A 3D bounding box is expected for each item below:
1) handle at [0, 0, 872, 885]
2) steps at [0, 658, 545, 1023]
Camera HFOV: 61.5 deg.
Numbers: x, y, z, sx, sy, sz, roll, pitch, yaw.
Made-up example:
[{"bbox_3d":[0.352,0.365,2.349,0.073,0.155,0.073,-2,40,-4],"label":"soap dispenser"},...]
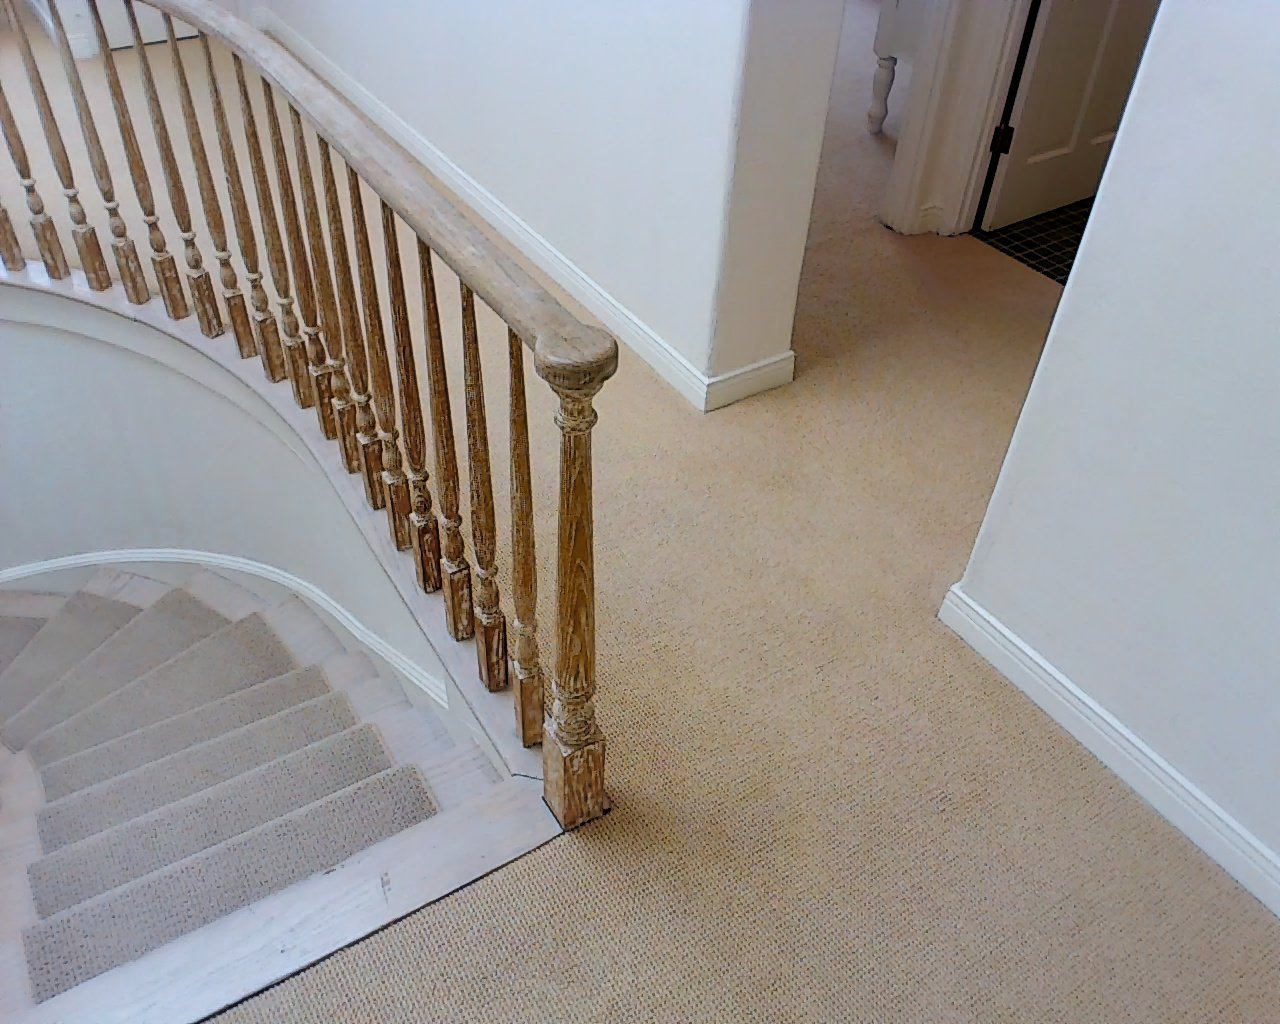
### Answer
[{"bbox_3d":[-1.700,-0.690,2.460,4.090,0.960,1.200,18,43,16],"label":"handle"},{"bbox_3d":[-0.700,0.630,1.860,1.030,0.200,0.340,-21,46,-26],"label":"steps"}]
